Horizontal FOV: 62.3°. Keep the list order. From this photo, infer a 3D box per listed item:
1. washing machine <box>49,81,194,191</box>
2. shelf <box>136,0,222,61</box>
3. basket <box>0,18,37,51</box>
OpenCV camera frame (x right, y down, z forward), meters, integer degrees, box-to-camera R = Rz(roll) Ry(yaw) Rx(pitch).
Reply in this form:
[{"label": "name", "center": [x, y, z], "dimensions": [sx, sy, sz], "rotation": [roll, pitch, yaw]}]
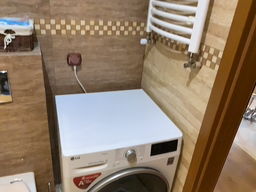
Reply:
[{"label": "washing machine", "center": [-0.130, 0.450, 1.380], "dimensions": [0.630, 0.860, 0.650], "rotation": [-5, 30, -21]}, {"label": "shelf", "center": [0.230, -0.620, 0.950], "dimensions": [0.120, 0.780, 0.540], "rotation": [-5, 29, -20]}, {"label": "basket", "center": [-0.590, -0.300, 1.030], "dimensions": [0.260, 0.120, 0.170], "rotation": [-4, 29, -19]}]
